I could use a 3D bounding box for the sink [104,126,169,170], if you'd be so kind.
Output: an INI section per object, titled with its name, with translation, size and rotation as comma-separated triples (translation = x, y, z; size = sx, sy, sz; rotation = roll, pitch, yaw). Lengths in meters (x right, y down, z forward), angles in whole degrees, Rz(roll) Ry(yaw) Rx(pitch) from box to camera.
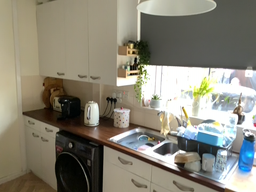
[sink]
translation = 0.090, 0.450, 1.950
size = 0.360, 0.150, 0.500
rotation = 10, 14, 37
